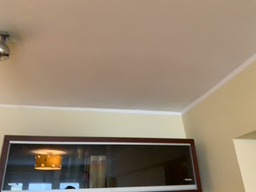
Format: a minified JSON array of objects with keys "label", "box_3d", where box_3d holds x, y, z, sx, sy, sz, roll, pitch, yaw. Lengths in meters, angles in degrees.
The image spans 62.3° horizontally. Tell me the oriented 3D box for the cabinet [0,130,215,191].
[{"label":"cabinet","box_3d":[-0.140,0.480,1.520,1.460,0.360,0.280,4,-26,-13]}]
